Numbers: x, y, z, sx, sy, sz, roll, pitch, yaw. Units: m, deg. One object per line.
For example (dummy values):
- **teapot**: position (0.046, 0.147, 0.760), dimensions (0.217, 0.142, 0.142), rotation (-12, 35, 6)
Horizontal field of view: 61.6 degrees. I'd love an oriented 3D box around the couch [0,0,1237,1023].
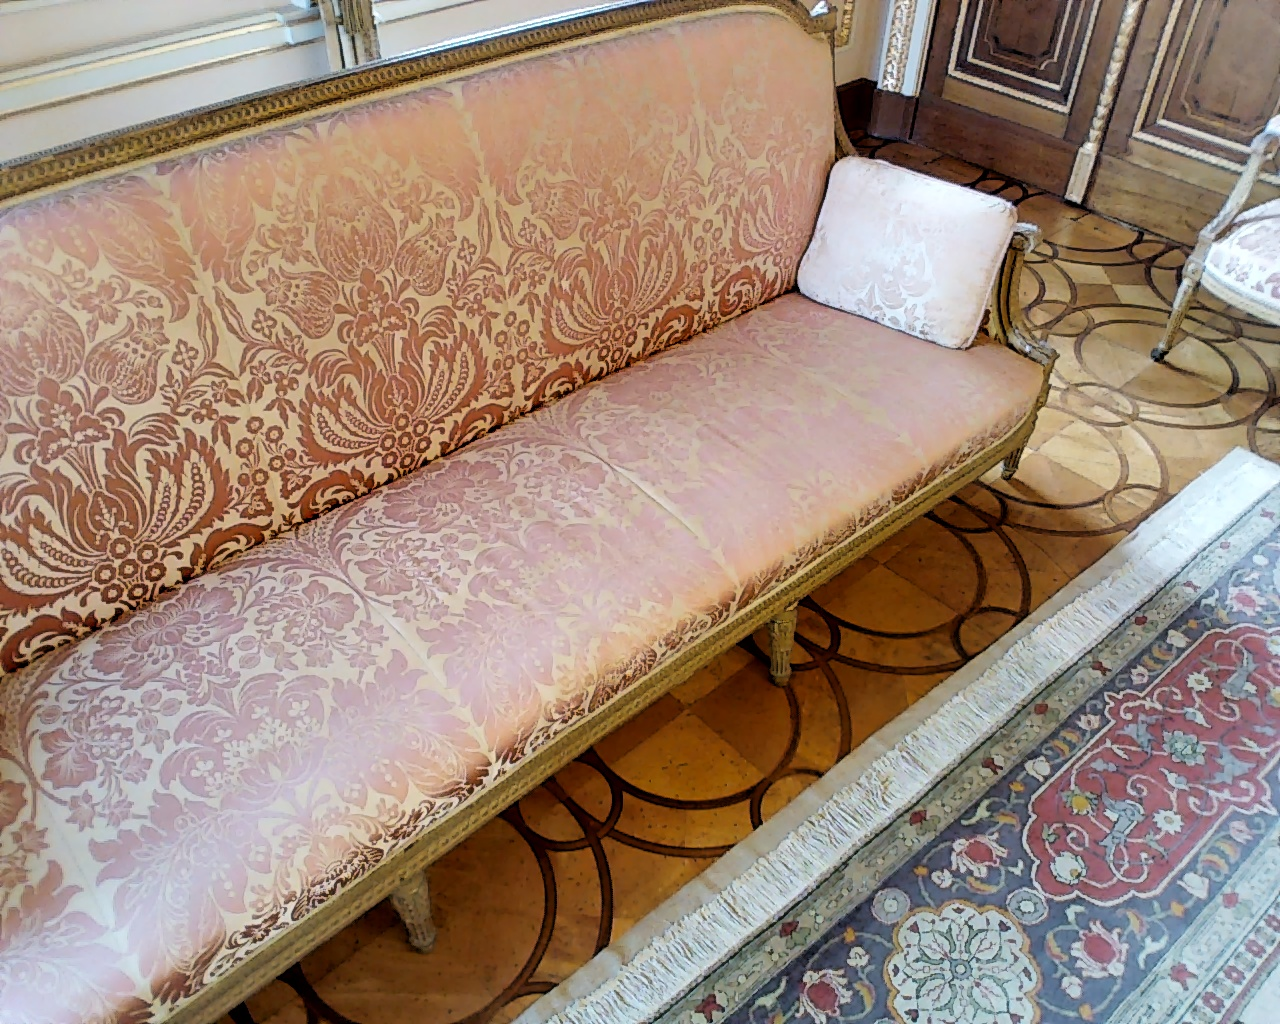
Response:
- **couch**: position (-0.290, -0.050, 1.810), dimensions (2.830, 1.170, 0.830), rotation (-30, 50, -30)
